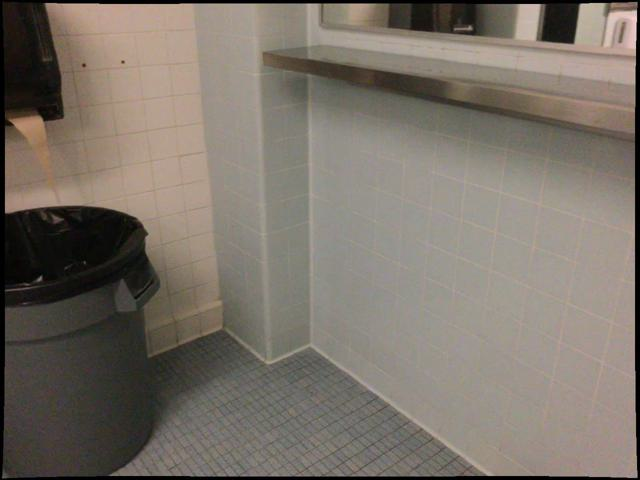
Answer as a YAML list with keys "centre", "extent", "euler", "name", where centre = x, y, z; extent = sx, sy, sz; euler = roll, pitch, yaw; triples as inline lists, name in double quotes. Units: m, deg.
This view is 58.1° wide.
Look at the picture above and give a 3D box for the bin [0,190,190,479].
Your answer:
- centre: [-0.808, 0.321, 1.750]
  extent: [0.549, 0.701, 0.610]
  euler: [-17, 32, -37]
  name: "bin"
